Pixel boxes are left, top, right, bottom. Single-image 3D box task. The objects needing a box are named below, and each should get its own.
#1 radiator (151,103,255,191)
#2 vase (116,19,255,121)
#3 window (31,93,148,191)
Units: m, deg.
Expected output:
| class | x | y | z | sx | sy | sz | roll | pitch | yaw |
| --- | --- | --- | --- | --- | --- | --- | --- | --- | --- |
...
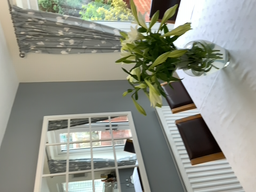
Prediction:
| class | x | y | z | sx | sy | sz | roll | pitch | yaw |
| --- | --- | --- | --- | --- | --- | --- | --- | --- | --- |
| radiator | 0.810 | 0.740 | 2.100 | 1.760 | 0.710 | 0.120 | -105 | 18 | -46 |
| vase | 0.270 | -0.180 | 1.270 | 0.480 | 0.600 | 0.400 | -109 | 20 | -53 |
| window | -0.370 | 0.700 | 2.040 | 2.070 | 0.970 | 0.130 | -106 | 18 | -48 |
